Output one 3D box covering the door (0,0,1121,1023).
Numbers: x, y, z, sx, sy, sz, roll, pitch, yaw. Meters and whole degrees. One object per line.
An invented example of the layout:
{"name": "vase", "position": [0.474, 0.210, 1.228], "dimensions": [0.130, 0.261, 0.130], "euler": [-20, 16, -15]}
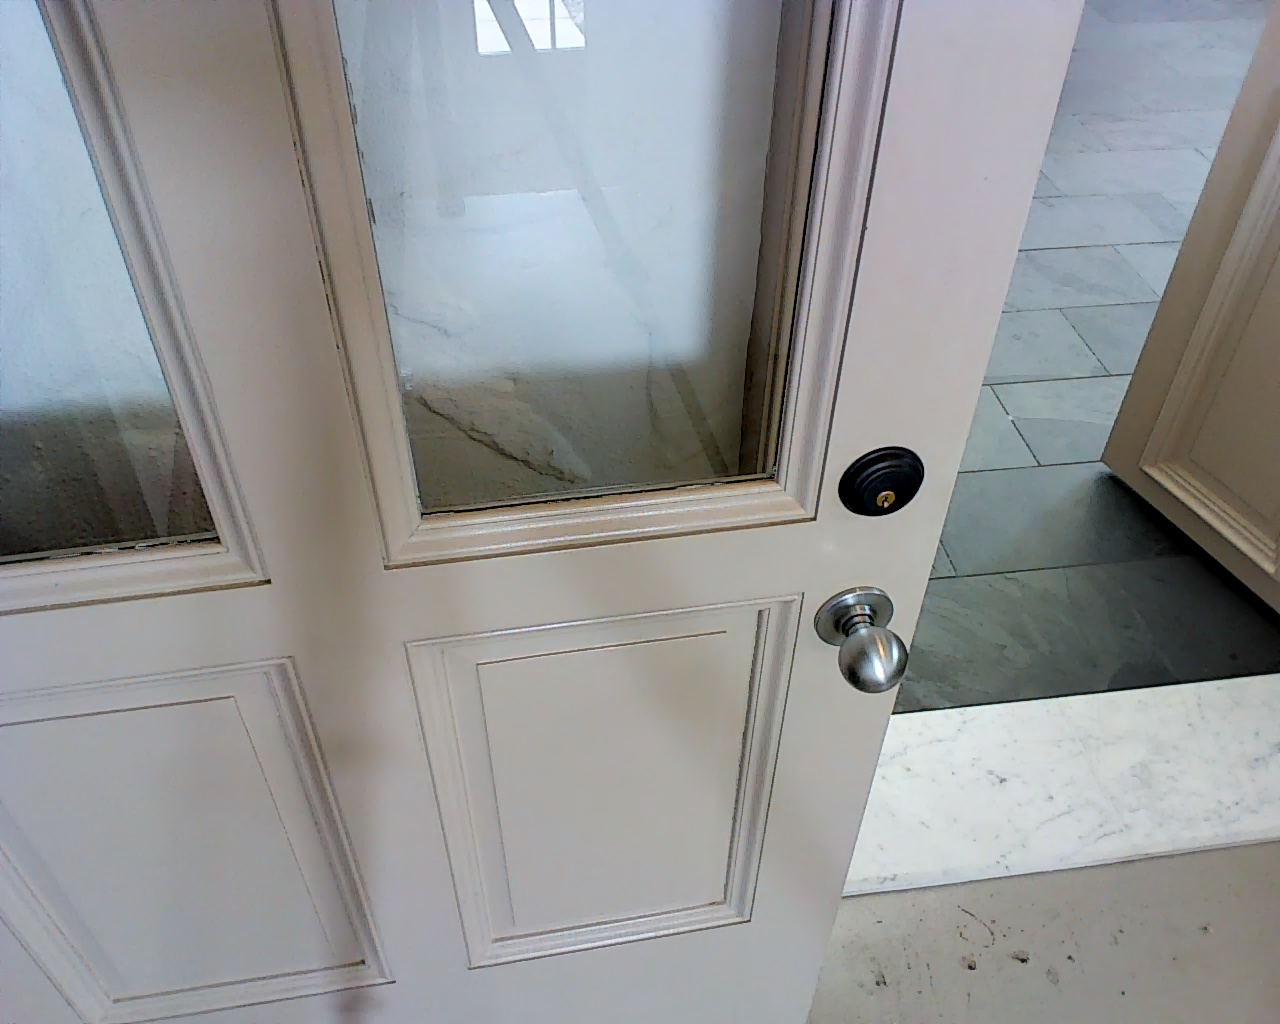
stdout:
{"name": "door", "position": [-0.210, -0.100, 0.640], "dimensions": [0.920, 2.200, 0.070], "euler": [-7, 43, -8]}
